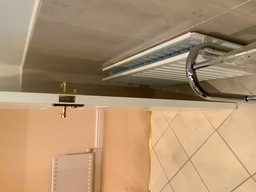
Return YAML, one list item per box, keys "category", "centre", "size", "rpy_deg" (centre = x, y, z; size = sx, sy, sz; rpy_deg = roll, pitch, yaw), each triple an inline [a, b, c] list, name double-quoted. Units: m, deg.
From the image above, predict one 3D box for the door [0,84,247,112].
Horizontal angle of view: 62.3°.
- category: "door"
  centre: [-0.410, 0.020, 1.170]
  size: [0.950, 2.040, 0.070]
  rpy_deg: [-2, 85, 60]
